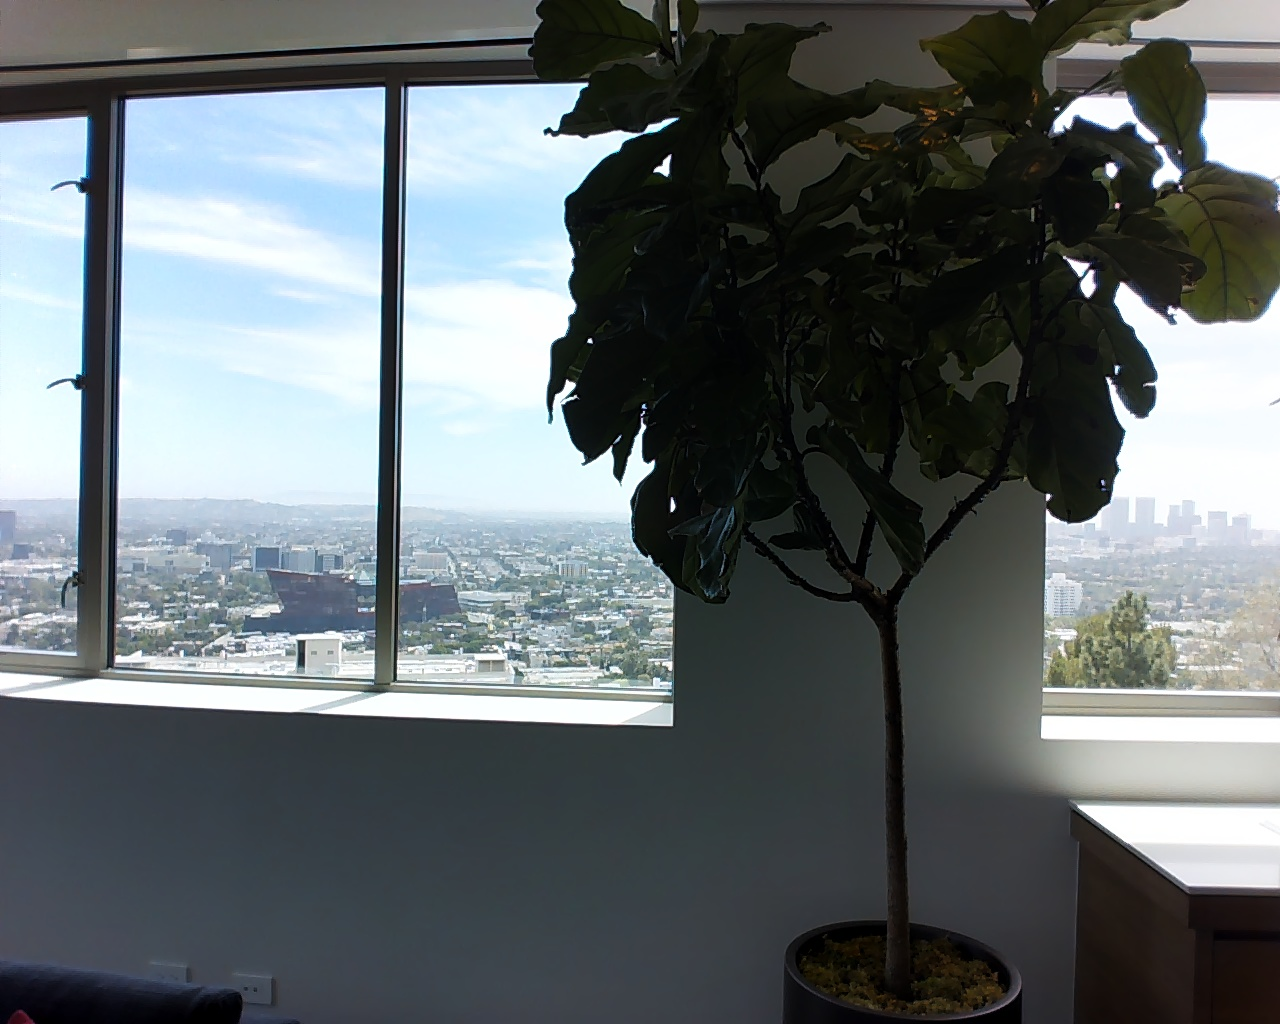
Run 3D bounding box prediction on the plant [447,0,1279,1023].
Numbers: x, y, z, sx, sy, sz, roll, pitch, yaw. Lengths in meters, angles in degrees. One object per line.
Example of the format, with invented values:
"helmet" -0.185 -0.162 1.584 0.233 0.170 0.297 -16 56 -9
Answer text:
"plant" 0.440 0.110 2.220 1.400 2.820 1.210 1 0 2
